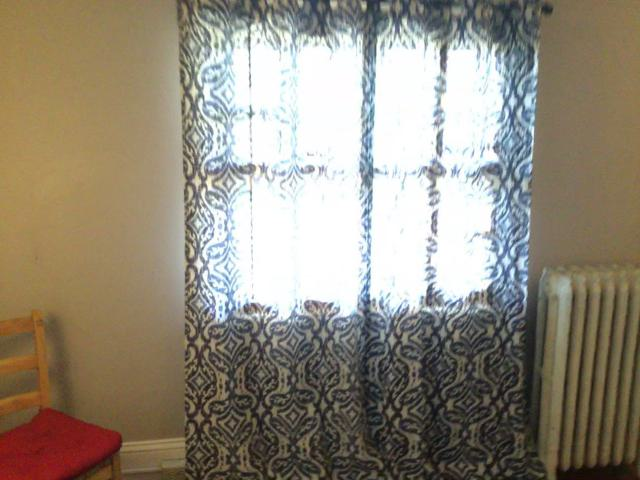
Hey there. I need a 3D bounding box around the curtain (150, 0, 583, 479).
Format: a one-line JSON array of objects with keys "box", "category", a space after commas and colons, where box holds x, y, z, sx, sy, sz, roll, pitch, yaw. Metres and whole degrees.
[{"box": [0.190, 0.010, 2.310, 1.560, 2.140, 0.250, -2, 9, -7], "category": "curtain"}]

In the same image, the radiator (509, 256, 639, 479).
[{"box": [1.160, 0.540, 2.490, 0.530, 0.880, 0.330, -2, 9, -10], "category": "radiator"}]

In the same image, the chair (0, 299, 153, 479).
[{"box": [-0.990, 0.730, 2.010, 0.620, 0.870, 0.510, 7, 12, 38], "category": "chair"}]
